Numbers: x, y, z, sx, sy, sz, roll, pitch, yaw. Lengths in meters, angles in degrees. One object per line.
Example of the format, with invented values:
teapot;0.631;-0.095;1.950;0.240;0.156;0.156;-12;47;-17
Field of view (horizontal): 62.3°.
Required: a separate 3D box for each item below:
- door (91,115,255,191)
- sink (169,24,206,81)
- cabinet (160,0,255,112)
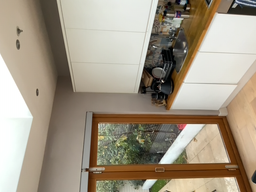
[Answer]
door;0.620;1.240;2.490;0.130;2.090;2.290;99;170;-52
sink;0.720;-0.540;2.660;0.490;0.200;0.500;100;169;-54
cabinet;1.070;-0.470;2.690;1.590;0.910;0.600;100;169;-54
